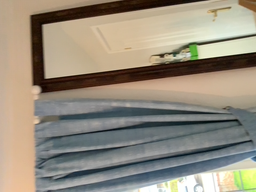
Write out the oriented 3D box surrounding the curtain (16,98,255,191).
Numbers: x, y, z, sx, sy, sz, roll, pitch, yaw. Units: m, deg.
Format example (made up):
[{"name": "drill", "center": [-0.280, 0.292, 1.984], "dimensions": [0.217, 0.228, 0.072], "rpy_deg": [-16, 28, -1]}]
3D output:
[{"name": "curtain", "center": [0.320, 0.240, 0.880], "dimensions": [0.130, 1.520, 0.410], "rpy_deg": [78, -174, -79]}]
